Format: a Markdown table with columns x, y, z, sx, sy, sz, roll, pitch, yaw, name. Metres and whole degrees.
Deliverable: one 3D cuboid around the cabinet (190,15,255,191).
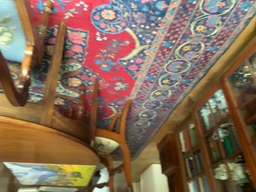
| x | y | z | sx | sy | sz | roll | pitch | yaw | name |
| --- | --- | --- | --- | --- | --- | --- | --- | --- | --- |
| 0.880 | 0.210 | 1.350 | 0.380 | 1.100 | 0.940 | 6 | 147 | -11 | cabinet |
